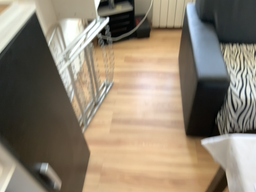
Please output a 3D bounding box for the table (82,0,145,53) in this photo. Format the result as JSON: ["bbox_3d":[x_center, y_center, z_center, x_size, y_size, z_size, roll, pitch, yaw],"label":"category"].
[{"bbox_3d":[-0.150,-0.900,2.130,0.570,0.780,0.310,-13,48,-9],"label":"table"}]
